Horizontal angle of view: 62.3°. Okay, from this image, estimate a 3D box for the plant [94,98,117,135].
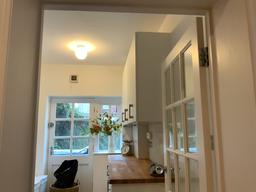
[{"bbox_3d":[-0.440,0.410,4.170,0.430,0.690,0.260,2,-12,-7],"label":"plant"}]

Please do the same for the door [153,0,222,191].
[{"bbox_3d":[0.390,0.100,1.660,0.140,2.150,0.880,1,-12,-6],"label":"door"}]

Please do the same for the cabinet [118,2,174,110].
[{"bbox_3d":[0.140,-0.380,3.290,0.390,0.920,2.070,2,-12,-8],"label":"cabinet"}]
